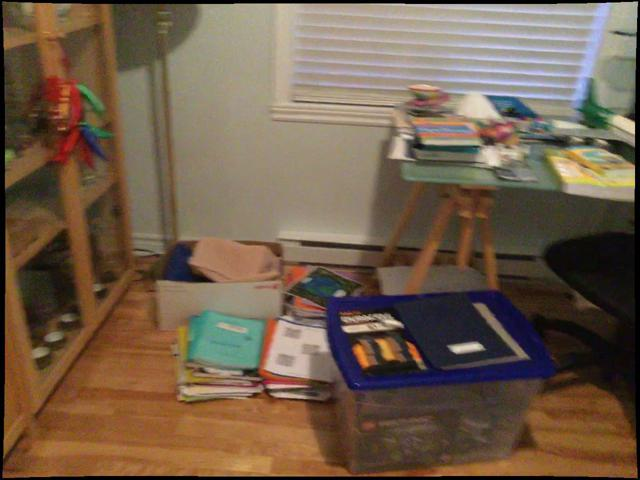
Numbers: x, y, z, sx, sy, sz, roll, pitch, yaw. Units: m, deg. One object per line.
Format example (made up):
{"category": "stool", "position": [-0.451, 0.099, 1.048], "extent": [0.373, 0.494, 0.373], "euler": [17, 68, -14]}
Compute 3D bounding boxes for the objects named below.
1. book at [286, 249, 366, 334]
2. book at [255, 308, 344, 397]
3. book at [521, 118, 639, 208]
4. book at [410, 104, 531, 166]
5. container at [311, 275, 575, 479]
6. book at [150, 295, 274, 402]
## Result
{"category": "book", "position": [0.030, 0.190, 2.230], "extent": [0.280, 0.140, 0.350], "euler": [4, 29, 2]}
{"category": "book", "position": [-0.060, 0.370, 1.950], "extent": [0.270, 0.100, 0.310], "euler": [4, 29, 2]}
{"category": "book", "position": [0.769, -0.220, 1.600], "extent": [0.310, 0.110, 0.370], "euler": [4, 29, 2]}
{"category": "book", "position": [0.420, -0.310, 1.670], "extent": [0.290, 0.080, 0.270], "euler": [4, 29, 2]}
{"category": "container", "position": [0.300, 0.380, 1.670], "extent": [0.599, 0.360, 0.440], "euler": [2, 30, -6]}
{"category": "book", "position": [-0.340, 0.350, 1.930], "extent": [0.330, 0.130, 0.360], "euler": [4, 29, 2]}
